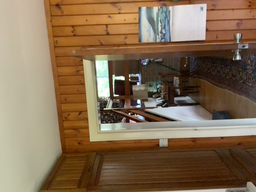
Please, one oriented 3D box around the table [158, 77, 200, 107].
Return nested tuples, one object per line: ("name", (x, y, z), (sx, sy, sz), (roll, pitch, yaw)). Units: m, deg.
("table", (1.250, -0.120, 5.390), (0.810, 0.860, 0.570), (-94, 2, -76))
